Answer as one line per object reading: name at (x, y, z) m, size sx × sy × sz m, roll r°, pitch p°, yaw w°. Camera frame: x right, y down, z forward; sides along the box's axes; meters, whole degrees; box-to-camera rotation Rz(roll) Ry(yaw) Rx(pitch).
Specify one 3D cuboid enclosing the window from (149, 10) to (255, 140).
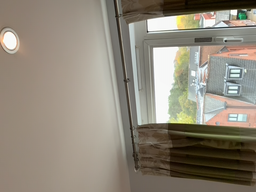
window at (0.790, -0.120, 1.810) m, size 0.100 × 1.160 × 1.120 m, roll -66°, pitch -26°, yaw -57°

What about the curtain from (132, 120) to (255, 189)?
curtain at (1.100, 0.500, 1.640) m, size 0.110 × 2.120 × 0.550 m, roll -65°, pitch -27°, yaw -58°
